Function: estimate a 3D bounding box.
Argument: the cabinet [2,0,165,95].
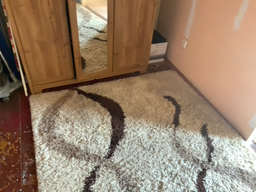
[{"bbox_3d":[-0.380,-1.050,1.840,1.320,1.880,0.620,-13,44,-20],"label":"cabinet"}]
